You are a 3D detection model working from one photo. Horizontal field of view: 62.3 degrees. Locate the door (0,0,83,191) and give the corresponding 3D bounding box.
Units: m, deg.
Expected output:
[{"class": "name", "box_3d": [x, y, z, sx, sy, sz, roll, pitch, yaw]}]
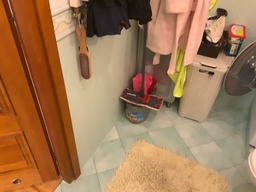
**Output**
[{"class": "door", "box_3d": [-0.750, -0.130, 0.740, 0.980, 2.140, 0.070, -8, 41, -14]}]
